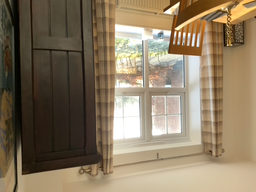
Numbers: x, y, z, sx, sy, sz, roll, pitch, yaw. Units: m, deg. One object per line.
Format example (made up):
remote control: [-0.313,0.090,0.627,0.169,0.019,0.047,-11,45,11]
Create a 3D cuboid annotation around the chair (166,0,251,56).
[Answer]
chair: [0.690,-0.940,1.920,0.440,1.040,0.560,-1,180,-24]
